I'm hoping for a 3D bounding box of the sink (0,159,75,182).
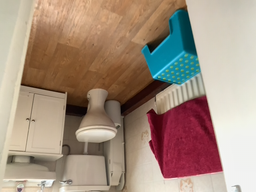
[{"bbox_3d":[-0.820,0.630,1.780,0.660,0.140,0.380,8,153,-23],"label":"sink"}]

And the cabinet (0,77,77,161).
[{"bbox_3d":[-0.830,0.240,1.950,0.610,0.620,0.400,8,153,-23],"label":"cabinet"}]
